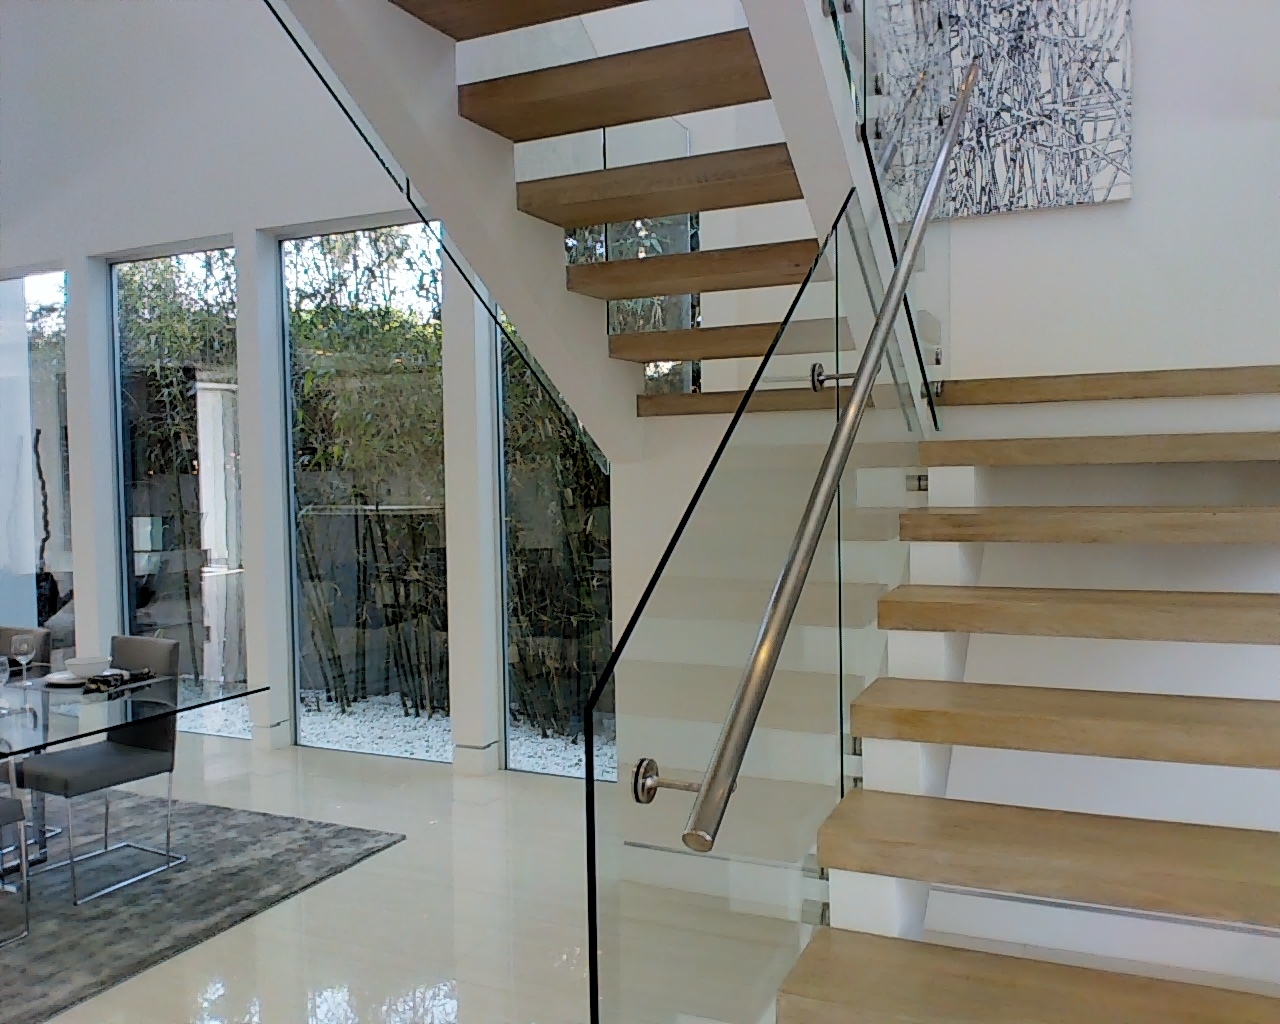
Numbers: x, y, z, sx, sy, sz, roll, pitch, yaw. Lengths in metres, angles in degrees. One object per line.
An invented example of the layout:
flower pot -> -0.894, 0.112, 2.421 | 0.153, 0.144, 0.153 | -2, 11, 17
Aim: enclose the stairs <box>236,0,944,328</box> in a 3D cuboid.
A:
stairs -> -0.110, -1.110, 2.680 | 1.160, 0.470, 2.900 | 35, 16, 19
